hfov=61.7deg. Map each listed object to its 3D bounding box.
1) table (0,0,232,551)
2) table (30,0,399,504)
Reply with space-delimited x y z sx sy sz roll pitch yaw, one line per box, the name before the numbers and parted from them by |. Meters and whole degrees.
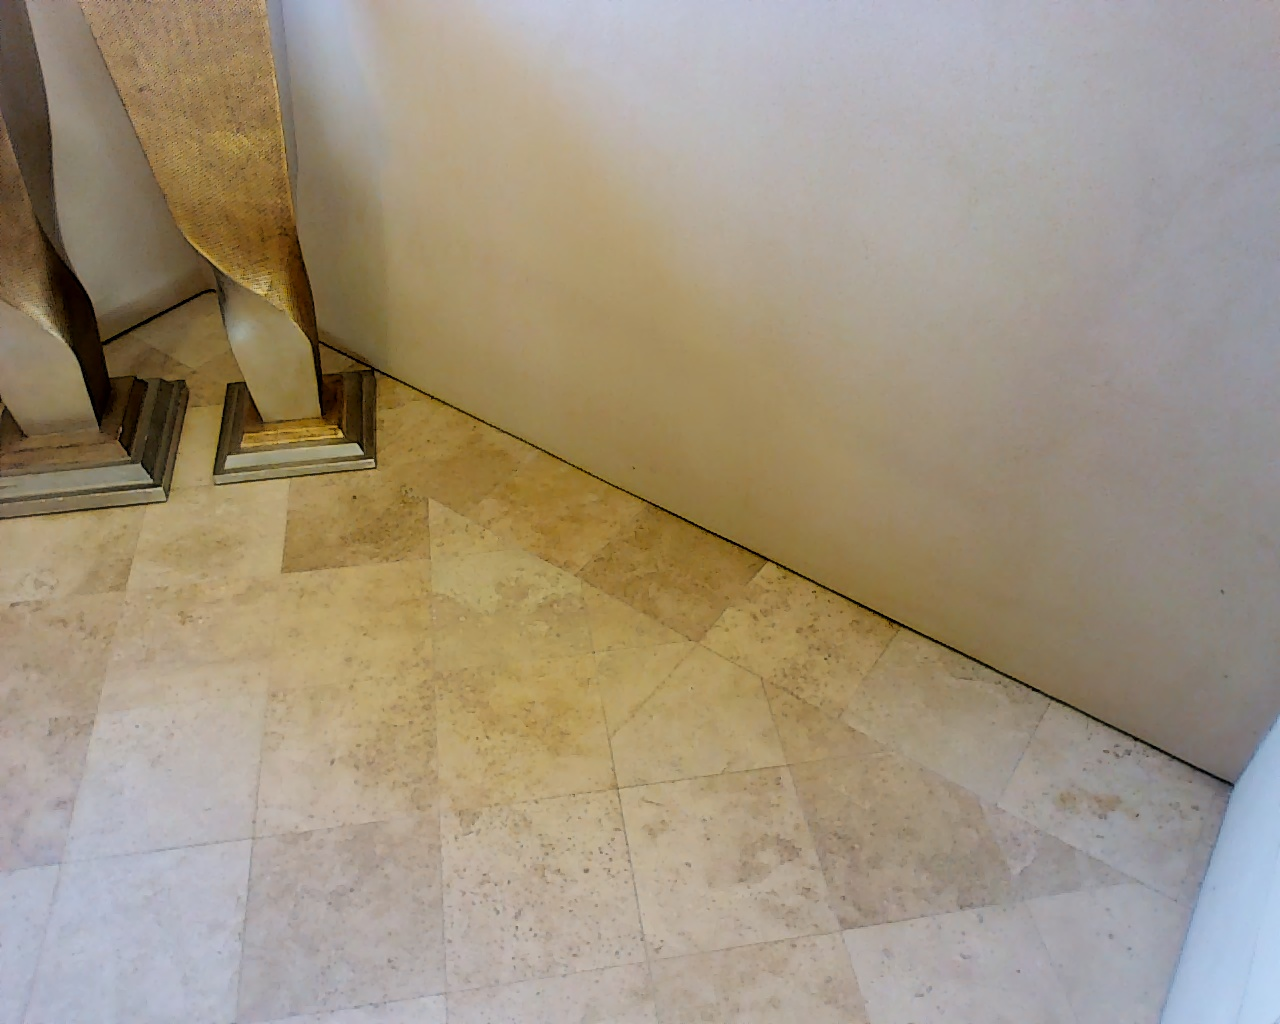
table | -1.280 -0.600 2.090 0.560 1.270 0.590 -6 42 -7
table | -0.790 -0.610 2.190 0.420 1.140 0.430 -6 42 -7
